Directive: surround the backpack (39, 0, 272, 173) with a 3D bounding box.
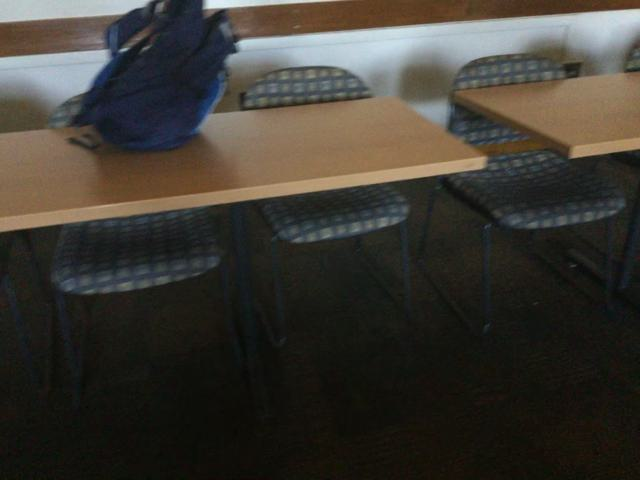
[{"bbox_3d":[-0.420,-0.470,1.460,0.420,0.410,0.410,-18,32,-24],"label":"backpack"}]
